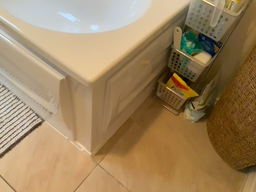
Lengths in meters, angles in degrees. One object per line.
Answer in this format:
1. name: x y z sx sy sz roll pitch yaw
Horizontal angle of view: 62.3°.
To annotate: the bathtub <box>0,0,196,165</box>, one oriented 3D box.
1. bathtub: -0.630 -0.500 1.140 1.710 0.540 0.710 31 55 13
